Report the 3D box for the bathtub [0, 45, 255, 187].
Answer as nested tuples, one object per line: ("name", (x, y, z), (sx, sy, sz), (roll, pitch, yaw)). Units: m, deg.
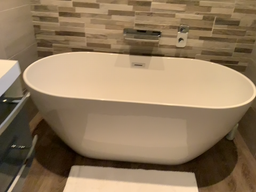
("bathtub", (0.040, 0.070, 1.580), (1.490, 0.570, 0.800), (5, 30, 2))
